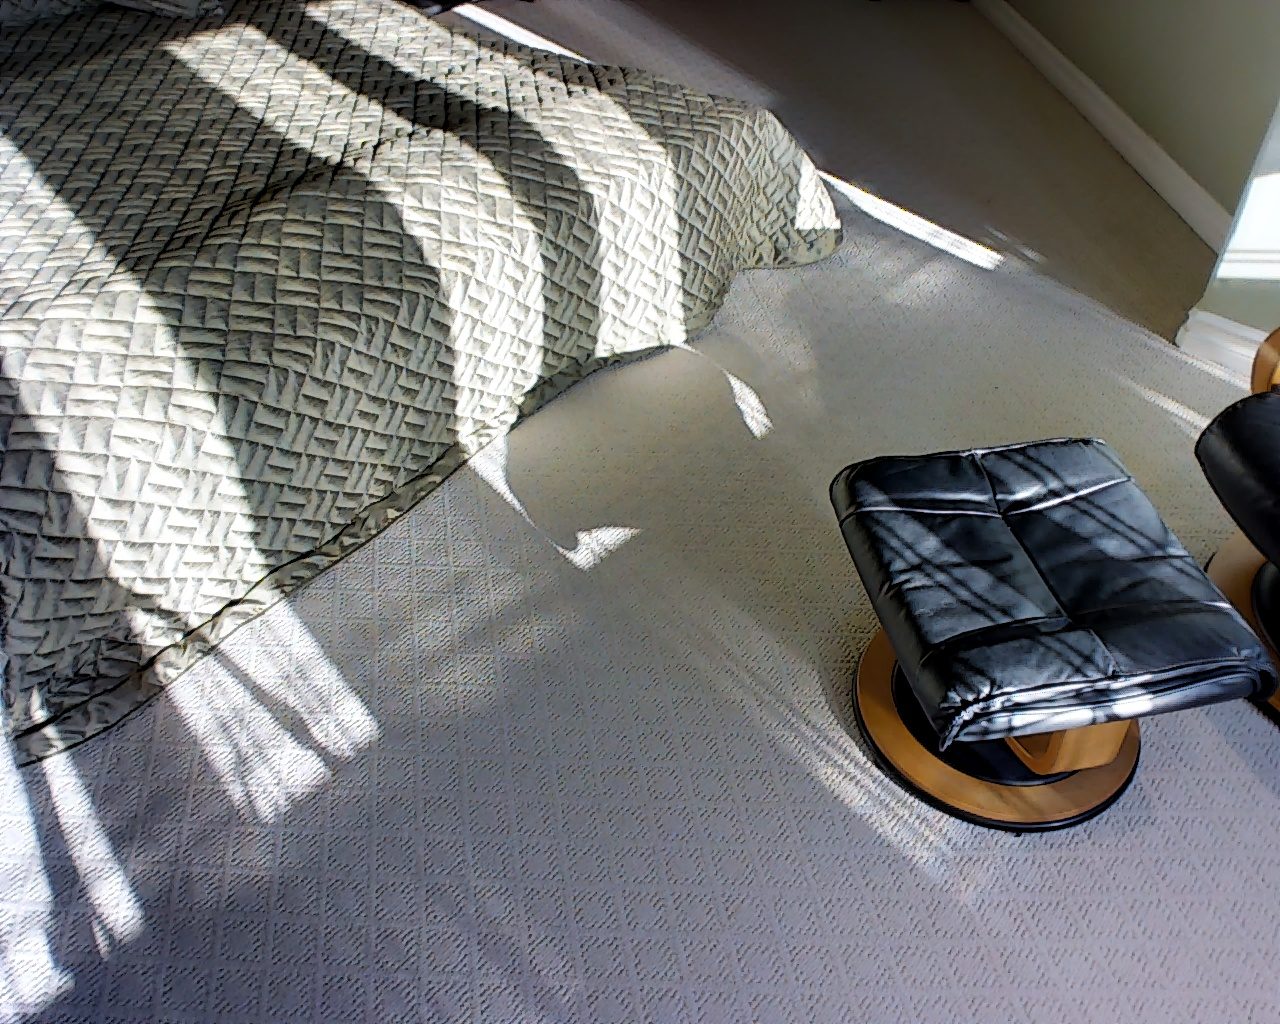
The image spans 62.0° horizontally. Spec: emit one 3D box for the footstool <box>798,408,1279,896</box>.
[{"bbox_3d":[0.610,0.190,1.680,0.530,0.380,0.600,-6,42,-8],"label":"footstool"}]
